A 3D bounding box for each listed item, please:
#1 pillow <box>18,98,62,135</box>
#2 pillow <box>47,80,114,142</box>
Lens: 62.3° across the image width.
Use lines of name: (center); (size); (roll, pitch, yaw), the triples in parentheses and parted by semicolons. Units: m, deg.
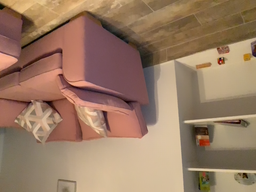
pillow: (-1.120, 0.260, 2.690); (0.190, 0.470, 0.440); (58, -43, 45)
pillow: (-0.450, 0.130, 2.160); (0.240, 0.520, 0.470); (-52, -174, 13)
